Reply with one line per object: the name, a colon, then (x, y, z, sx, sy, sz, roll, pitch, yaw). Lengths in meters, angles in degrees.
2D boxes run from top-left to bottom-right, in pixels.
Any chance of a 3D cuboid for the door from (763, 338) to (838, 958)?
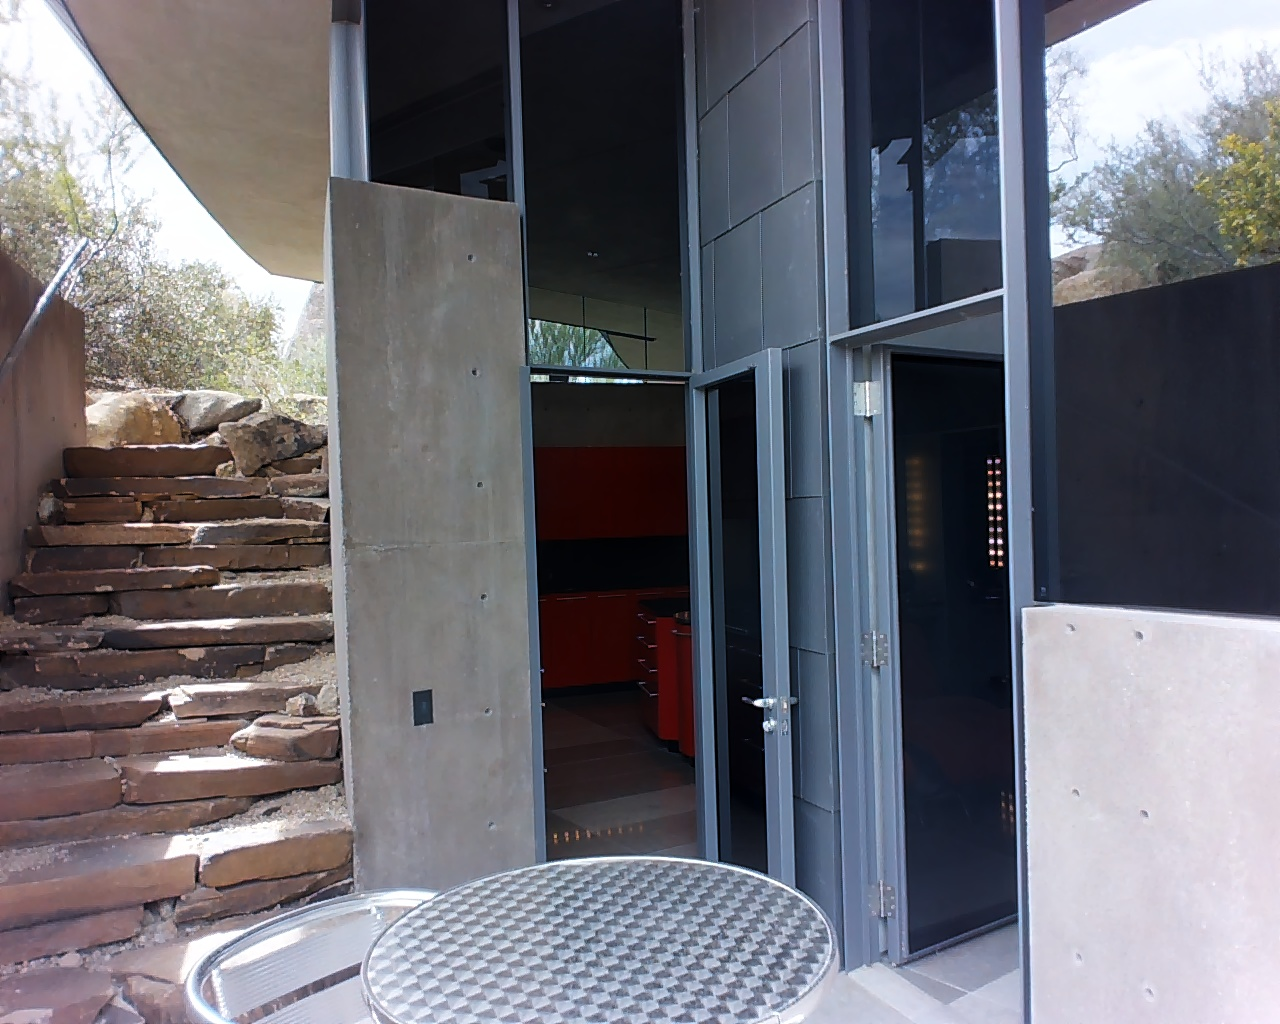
door: (0.560, 0.460, 3.740, 0.230, 2.110, 0.120, 0, -1, -15)
